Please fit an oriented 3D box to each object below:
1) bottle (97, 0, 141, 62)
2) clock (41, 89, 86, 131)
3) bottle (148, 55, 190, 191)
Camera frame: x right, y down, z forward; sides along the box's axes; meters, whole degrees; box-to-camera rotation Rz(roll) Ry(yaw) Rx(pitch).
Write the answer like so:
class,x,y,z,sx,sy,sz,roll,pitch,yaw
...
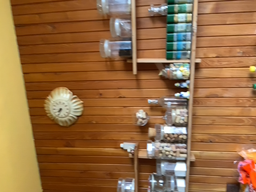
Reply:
class,x,y,z,sx,sy,sz,roll,pitch,yaw
bottle,-0.050,-0.630,1.110,0.100,0.220,0.880,-68,-22,-71
clock,-0.410,0.090,1.370,0.050,0.250,0.270,-69,-22,-71
bottle,0.240,0.390,1.380,0.120,0.220,1.280,-68,-22,-71
